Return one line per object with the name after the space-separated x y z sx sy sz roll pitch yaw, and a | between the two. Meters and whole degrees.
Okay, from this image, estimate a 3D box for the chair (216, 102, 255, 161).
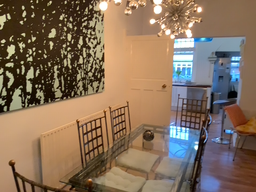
2.010 0.580 3.740 0.520 0.820 0.580 -5 10 -28 | chair
